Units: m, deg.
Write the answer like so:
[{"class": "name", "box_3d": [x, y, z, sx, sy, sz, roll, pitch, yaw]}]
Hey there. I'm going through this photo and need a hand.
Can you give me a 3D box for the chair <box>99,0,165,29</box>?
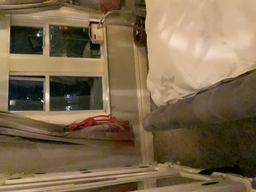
[{"class": "chair", "box_3d": [0.030, -1.240, 2.840, 0.500, 0.760, 0.480, -175, 84, -72]}]
